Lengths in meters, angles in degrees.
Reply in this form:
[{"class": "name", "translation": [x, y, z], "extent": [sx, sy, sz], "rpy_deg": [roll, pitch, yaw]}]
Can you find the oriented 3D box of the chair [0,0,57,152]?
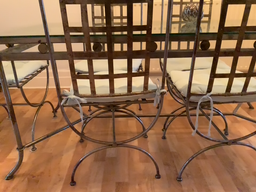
[{"class": "chair", "translation": [-0.790, -0.200, 1.320], "extent": [0.400, 1.020, 0.390], "rpy_deg": [2, 23, 6]}]
